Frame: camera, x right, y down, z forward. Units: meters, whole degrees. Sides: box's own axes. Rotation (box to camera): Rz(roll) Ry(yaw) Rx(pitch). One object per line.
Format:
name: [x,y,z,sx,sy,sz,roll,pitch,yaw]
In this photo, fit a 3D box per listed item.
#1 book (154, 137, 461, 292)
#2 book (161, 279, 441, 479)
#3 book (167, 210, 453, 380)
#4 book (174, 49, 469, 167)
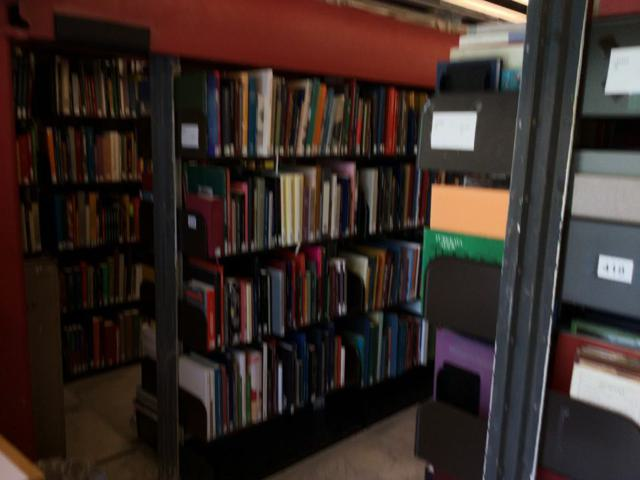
book: [0.040,-0.200,2.690,1.520,0.530,0.430,-10,15,-43]
book: [0.000,0.560,2.720,1.430,0.450,0.360,-10,15,-43]
book: [0.050,0.170,2.700,1.490,0.450,0.340,-10,15,-43]
book: [0.110,-0.560,2.580,1.510,0.390,0.310,-10,15,-43]
